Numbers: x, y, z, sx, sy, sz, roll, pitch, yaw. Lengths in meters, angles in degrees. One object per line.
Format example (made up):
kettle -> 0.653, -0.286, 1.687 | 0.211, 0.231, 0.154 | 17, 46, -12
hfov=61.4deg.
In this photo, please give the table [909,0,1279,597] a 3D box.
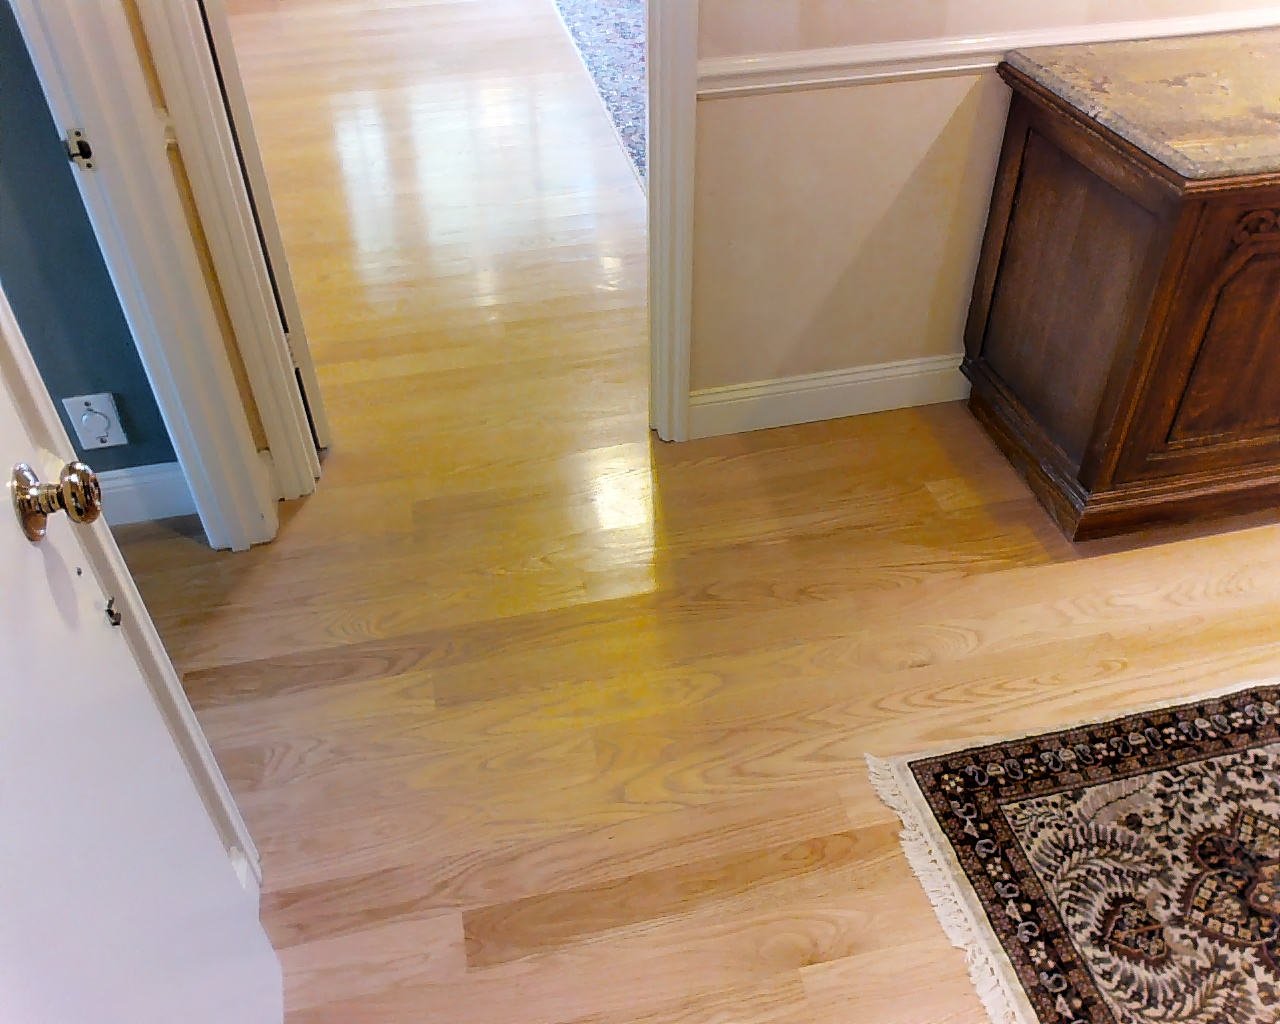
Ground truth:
table -> 1.690, -0.550, 2.360 | 1.890, 0.920, 0.730 | -9, 42, -9
